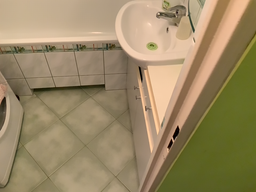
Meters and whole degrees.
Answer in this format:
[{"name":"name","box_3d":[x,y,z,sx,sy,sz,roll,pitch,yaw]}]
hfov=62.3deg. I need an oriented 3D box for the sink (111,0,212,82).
[{"name":"sink","box_3d":[0.140,-0.350,1.170,0.420,0.140,0.560,-4,54,-7]}]
